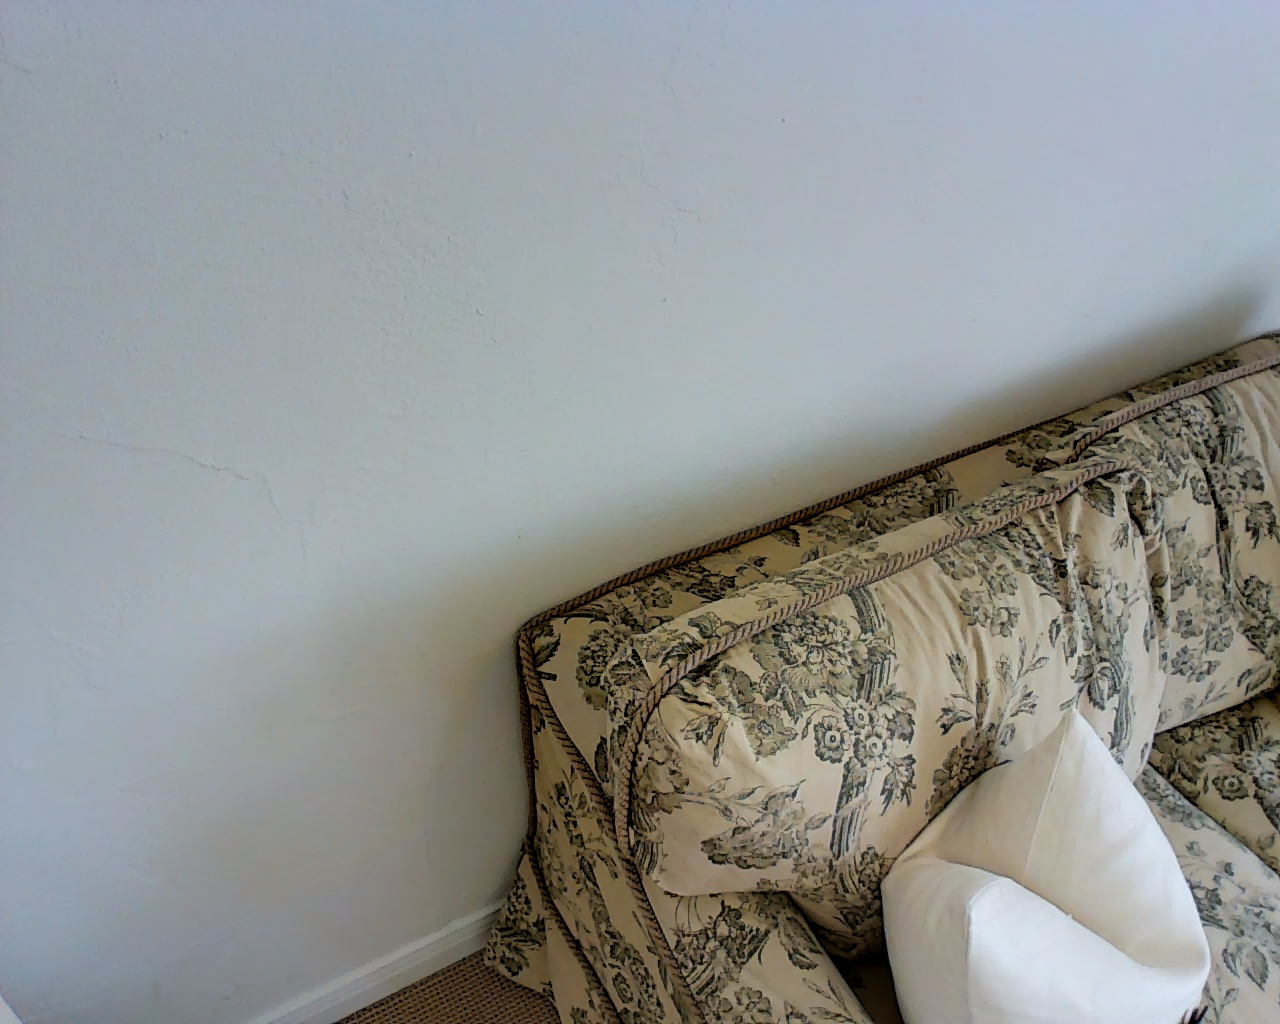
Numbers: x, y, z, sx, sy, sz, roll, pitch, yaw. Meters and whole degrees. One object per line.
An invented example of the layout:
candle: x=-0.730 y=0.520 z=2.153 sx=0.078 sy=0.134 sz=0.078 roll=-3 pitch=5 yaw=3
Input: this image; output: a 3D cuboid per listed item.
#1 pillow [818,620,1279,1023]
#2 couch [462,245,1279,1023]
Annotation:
pillow: x=0.440 y=0.410 z=1.070 sx=0.410 sy=0.360 sz=0.290 roll=-31 pitch=50 yaw=-32
couch: x=0.760 y=0.380 z=1.420 sx=1.630 sy=0.880 sz=1.010 roll=-20 pitch=45 yaw=-23
